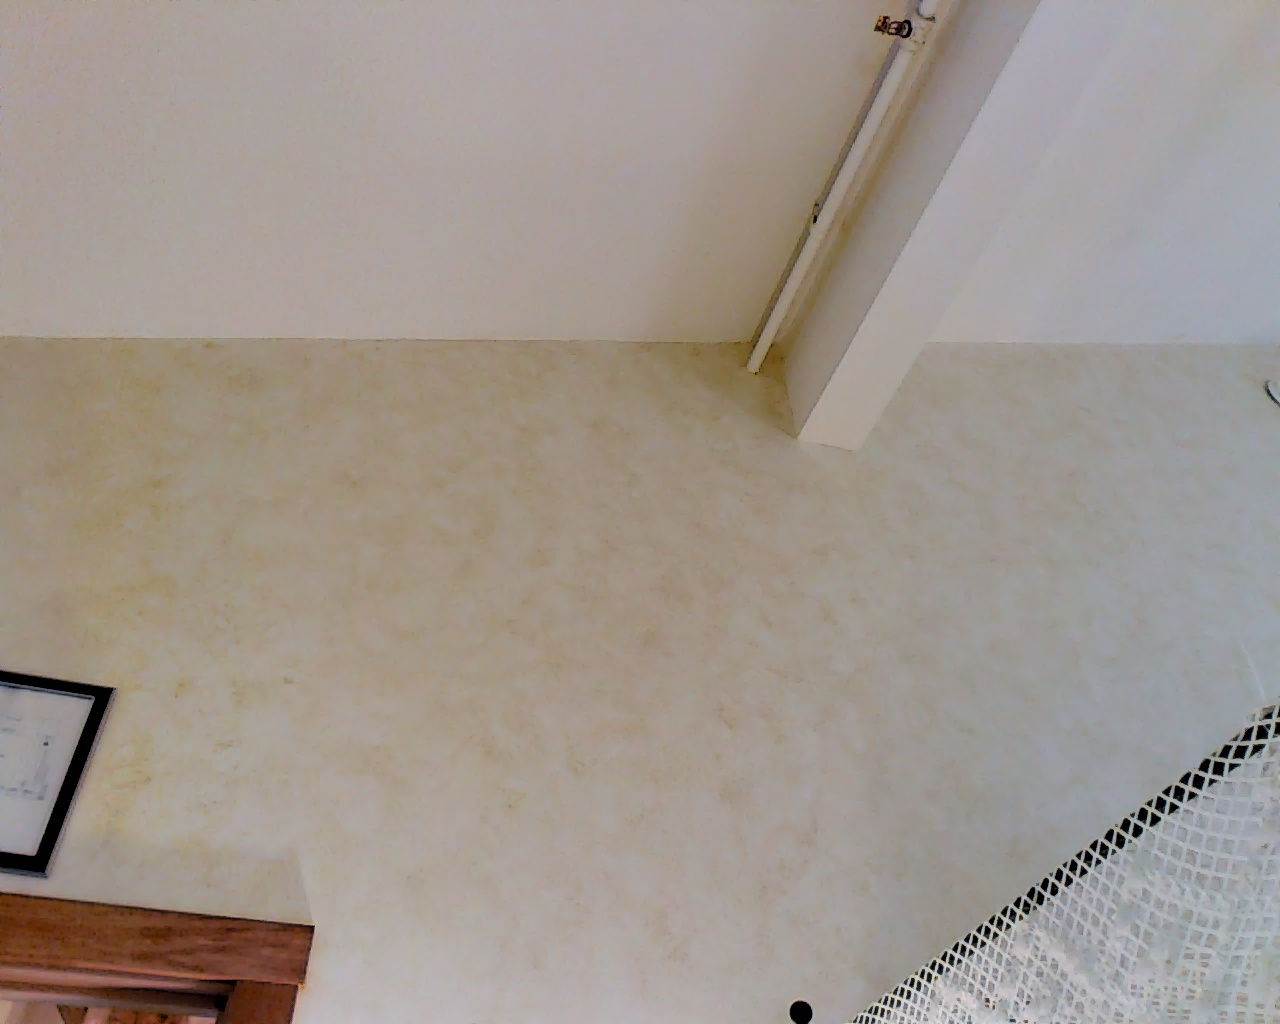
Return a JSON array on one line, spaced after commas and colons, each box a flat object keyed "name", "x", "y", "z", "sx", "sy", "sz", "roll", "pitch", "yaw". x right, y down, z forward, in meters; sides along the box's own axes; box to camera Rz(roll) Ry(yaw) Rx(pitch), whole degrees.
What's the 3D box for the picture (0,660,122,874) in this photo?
[{"name": "picture", "x": -1.000, "y": 0.390, "z": 1.690, "sx": 0.250, "sy": 0.330, "sz": 0.030, "roll": 10, "pitch": -42, "yaw": -12}]
